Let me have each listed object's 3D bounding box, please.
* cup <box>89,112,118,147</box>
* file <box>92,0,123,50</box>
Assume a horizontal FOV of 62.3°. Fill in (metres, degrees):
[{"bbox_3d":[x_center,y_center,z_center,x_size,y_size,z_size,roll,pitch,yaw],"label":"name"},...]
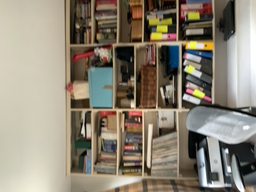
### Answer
[{"bbox_3d":[-0.320,0.440,2.870,0.210,0.350,0.430,7,-97,-85],"label":"cup"},{"bbox_3d":[-0.260,-1.080,2.870,0.310,0.350,0.840,30,-119,-84],"label":"file"}]
